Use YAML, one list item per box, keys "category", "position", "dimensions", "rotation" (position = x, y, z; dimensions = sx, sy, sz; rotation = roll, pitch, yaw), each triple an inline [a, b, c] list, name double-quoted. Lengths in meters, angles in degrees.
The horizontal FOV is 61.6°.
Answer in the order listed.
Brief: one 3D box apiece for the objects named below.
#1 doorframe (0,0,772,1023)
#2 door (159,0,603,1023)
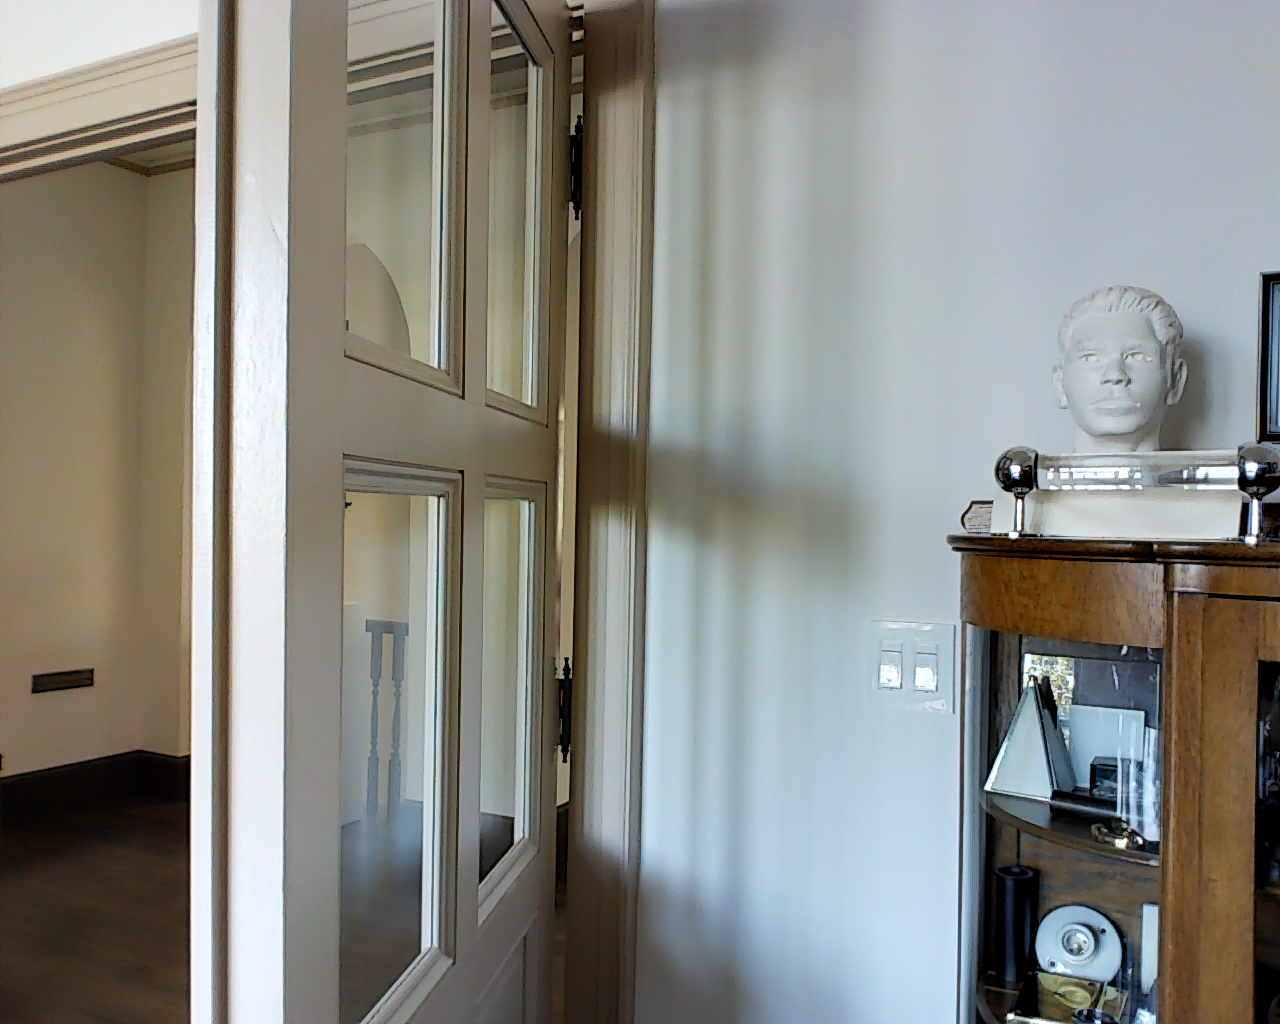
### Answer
- category: "doorframe"
  position: [-0.870, 0.270, 2.150]
  dimensions: [2.260, 2.520, 0.280]
  rotation: [1, 0, 28]
- category: "door"
  position: [-0.200, 0.330, 1.200]
  dimensions: [0.100, 2.280, 1.000]
  rotation: [1, 0, 8]
